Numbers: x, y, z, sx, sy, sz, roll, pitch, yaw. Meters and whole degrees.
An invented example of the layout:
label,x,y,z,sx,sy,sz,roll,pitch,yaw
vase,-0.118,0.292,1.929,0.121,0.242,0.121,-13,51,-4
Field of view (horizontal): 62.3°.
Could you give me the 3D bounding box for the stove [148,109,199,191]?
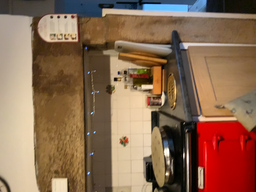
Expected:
label,x,y,z,sx,sy,sz,roll,pitch,yaw
stove,0.270,0.660,1.430,0.700,0.140,1.080,-158,67,-85
